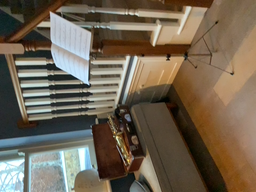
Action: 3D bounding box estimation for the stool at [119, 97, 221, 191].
[{"bbox_3d":[0.340,0.620,2.000,0.470,0.510,1.180,108,152,-47],"label":"stool"}]
